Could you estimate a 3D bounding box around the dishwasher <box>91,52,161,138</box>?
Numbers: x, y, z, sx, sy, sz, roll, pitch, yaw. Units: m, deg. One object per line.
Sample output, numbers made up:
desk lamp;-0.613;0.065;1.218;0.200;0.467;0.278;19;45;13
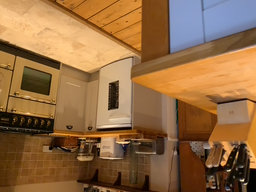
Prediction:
dishwasher;0.000;0.050;2.790;0.610;0.930;0.640;-10;161;40
